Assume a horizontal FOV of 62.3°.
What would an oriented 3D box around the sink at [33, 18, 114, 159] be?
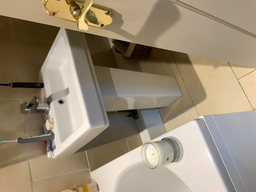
[{"bbox_3d":[-0.310,-0.020,1.060,0.430,0.140,0.530,-40,60,43],"label":"sink"}]
